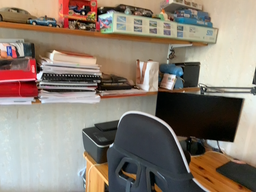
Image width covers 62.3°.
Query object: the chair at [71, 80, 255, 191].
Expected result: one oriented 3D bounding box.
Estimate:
[{"bbox_3d":[0.270,0.600,1.110,0.720,1.220,0.850,16,18,42],"label":"chair"}]
